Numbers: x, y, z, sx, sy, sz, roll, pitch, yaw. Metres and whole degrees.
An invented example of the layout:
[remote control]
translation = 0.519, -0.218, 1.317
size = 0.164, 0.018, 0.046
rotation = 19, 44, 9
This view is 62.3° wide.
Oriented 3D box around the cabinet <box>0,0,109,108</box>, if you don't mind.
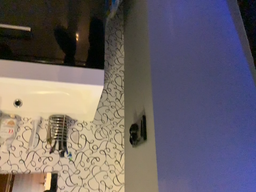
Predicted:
[cabinet]
translation = -0.530, -0.470, 0.910
size = 0.850, 0.910, 0.410
rotation = 5, 158, -13
